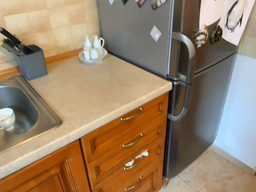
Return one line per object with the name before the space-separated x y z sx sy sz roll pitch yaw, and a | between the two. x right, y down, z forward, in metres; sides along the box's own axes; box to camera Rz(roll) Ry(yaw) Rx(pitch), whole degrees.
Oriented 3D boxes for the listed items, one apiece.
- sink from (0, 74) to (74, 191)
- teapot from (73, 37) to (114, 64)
sink | -0.520 0.150 0.790 0.420 0.190 0.490 -25 40 -31
teapot | -0.180 -0.250 1.150 0.170 0.080 0.180 3 33 7
